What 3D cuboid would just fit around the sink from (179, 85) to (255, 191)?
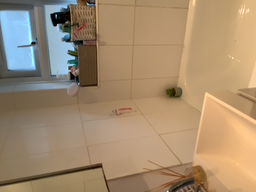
[{"bbox_3d":[0.400,0.260,0.680,0.550,0.140,0.420,-128,38,-60],"label":"sink"}]
